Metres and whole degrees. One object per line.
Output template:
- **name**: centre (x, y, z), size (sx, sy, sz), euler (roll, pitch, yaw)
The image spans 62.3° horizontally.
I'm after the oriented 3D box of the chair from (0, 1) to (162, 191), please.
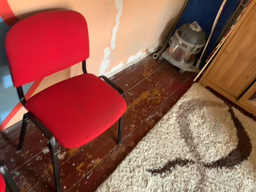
- **chair**: centre (-0.320, 0.030, 1.230), size (0.590, 0.820, 0.520), euler (38, 47, 16)
